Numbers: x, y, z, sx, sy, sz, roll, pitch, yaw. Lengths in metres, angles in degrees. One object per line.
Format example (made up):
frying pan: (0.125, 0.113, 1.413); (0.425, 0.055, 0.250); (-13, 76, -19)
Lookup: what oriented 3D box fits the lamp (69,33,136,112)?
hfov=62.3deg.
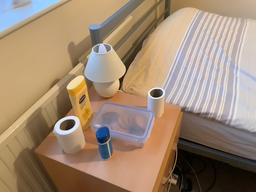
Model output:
lamp: (-0.090, -0.100, 0.870); (0.170, 0.230, 0.180); (16, 46, 23)
